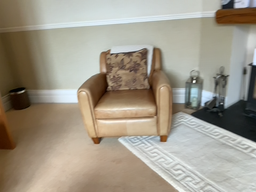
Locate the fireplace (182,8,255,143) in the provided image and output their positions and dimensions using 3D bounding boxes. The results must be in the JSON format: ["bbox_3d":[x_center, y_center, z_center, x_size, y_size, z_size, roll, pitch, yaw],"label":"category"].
[{"bbox_3d":[1.290,-0.230,1.940,0.770,1.060,1.340,-19,27,-31],"label":"fireplace"}]
